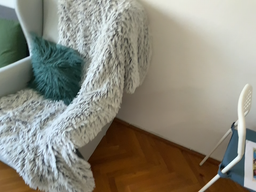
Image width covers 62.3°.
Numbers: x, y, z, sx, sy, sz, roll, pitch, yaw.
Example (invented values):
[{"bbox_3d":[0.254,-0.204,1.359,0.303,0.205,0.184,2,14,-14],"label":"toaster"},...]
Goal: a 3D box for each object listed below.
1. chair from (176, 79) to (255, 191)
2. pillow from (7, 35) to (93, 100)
[{"bbox_3d":[0.620,0.400,1.180,0.490,0.760,0.430,23,43,19],"label":"chair"},{"bbox_3d":[-0.470,-0.170,1.330,0.420,0.310,0.130,20,66,16],"label":"pillow"}]
